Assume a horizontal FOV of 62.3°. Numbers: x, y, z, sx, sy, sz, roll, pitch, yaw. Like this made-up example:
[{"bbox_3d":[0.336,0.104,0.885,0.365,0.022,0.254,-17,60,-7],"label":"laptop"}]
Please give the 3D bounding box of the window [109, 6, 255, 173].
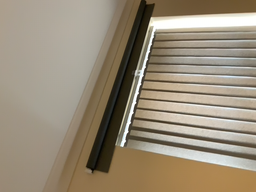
[{"bbox_3d":[0.660,-0.150,1.330,0.020,1.330,1.180,63,-142,-56],"label":"window"}]
